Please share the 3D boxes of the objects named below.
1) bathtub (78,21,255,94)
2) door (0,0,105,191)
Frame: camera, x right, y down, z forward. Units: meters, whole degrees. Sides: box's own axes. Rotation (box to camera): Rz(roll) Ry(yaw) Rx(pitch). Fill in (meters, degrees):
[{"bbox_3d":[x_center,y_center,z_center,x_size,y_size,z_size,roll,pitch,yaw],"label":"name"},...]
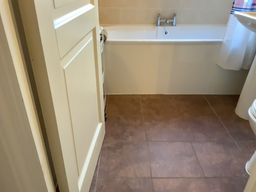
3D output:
[{"bbox_3d":[0.410,-0.460,2.340,1.700,0.550,0.740,1,30,0],"label":"bathtub"},{"bbox_3d":[-0.240,-0.440,0.740,0.070,2.150,0.970,3,30,4],"label":"door"}]
